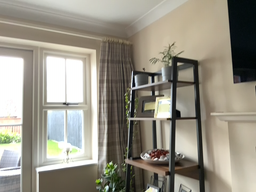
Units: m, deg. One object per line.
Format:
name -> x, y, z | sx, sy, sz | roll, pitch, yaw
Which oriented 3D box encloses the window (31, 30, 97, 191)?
window -> -0.720, 0.390, 2.440 | 0.700, 2.170, 0.140 | 2, -6, -36
